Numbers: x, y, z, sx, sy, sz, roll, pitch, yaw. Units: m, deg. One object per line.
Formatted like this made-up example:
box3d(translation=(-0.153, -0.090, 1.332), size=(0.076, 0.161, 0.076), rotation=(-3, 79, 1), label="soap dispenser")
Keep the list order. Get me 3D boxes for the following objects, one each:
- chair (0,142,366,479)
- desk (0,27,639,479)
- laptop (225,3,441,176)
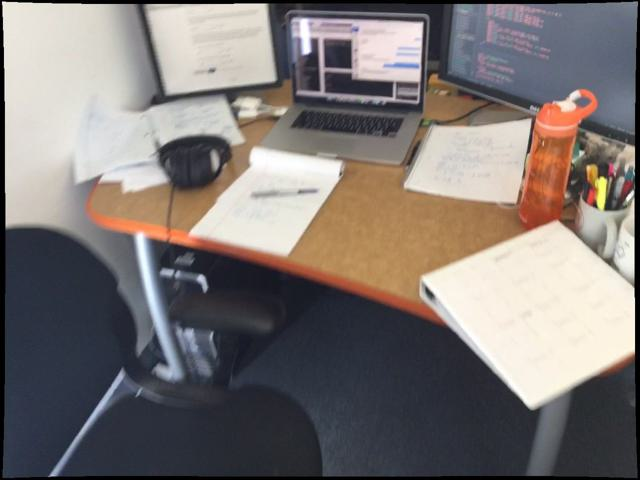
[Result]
box3d(translation=(-0.300, 0.260, 0.980), size=(0.589, 0.530, 0.630), rotation=(10, 42, 18), label="chair")
box3d(translation=(0.170, 0.100, 1.470), size=(1.529, 0.830, 0.990), rotation=(10, 42, 18), label="desk")
box3d(translation=(0.050, -0.380, 1.400), size=(0.400, 0.240, 0.360), rotation=(10, 42, 18), label="laptop")
